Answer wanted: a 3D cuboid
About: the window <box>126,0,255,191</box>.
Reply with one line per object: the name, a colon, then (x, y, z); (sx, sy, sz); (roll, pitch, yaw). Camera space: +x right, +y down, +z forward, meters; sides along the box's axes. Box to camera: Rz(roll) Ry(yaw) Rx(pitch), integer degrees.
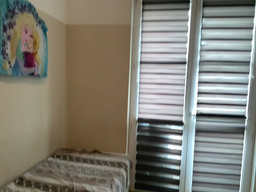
window: (0.770, 0.030, 2.520); (1.480, 2.640, 0.130); (4, 5, 11)
